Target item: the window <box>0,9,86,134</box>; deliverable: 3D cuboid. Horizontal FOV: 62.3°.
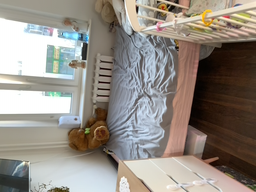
[{"bbox_3d":[-1.380,-0.290,2.940,0.160,1.480,1.600,14,101,63],"label":"window"}]
